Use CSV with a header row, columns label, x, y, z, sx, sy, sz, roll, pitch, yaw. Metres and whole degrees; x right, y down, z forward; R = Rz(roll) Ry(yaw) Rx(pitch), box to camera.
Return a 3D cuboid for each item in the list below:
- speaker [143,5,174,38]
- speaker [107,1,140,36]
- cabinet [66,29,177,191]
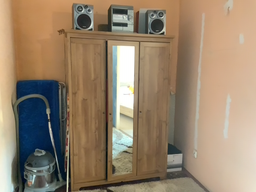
label,x,y,z,sx,sy,sz,roll,pitch,yaw
speaker,0.380,-0.950,2.750,0.280,0.330,0.340,-1,8,-14
speaker,-0.070,-0.930,2.610,0.320,0.320,0.370,-1,8,-15
cabinet,-0.130,0.160,2.870,1.300,1.890,0.650,-1,8,-15
